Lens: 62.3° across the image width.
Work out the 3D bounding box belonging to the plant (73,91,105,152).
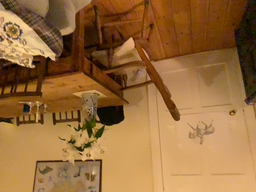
[{"bbox_3d":[-0.330,0.230,1.850,0.200,0.490,0.200,-7,163,16],"label":"plant"}]
